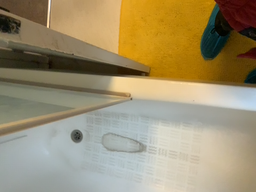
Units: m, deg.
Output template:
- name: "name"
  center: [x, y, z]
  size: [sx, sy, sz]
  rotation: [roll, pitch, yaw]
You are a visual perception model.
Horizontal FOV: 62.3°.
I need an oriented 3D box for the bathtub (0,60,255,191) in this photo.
- name: "bathtub"
  center: [0.150, 0.260, 0.910]
  size: [1.630, 0.560, 0.710]
  rotation: [6, 95, 17]
